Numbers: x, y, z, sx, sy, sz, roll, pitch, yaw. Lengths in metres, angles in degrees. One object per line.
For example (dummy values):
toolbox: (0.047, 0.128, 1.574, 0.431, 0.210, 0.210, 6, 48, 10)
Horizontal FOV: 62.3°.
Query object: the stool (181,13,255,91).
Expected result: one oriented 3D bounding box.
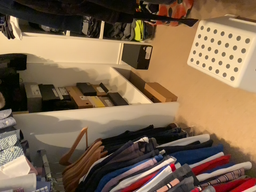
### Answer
stool: (0.520, -0.230, 1.040, 0.400, 0.240, 0.270, 40, 126, 52)
